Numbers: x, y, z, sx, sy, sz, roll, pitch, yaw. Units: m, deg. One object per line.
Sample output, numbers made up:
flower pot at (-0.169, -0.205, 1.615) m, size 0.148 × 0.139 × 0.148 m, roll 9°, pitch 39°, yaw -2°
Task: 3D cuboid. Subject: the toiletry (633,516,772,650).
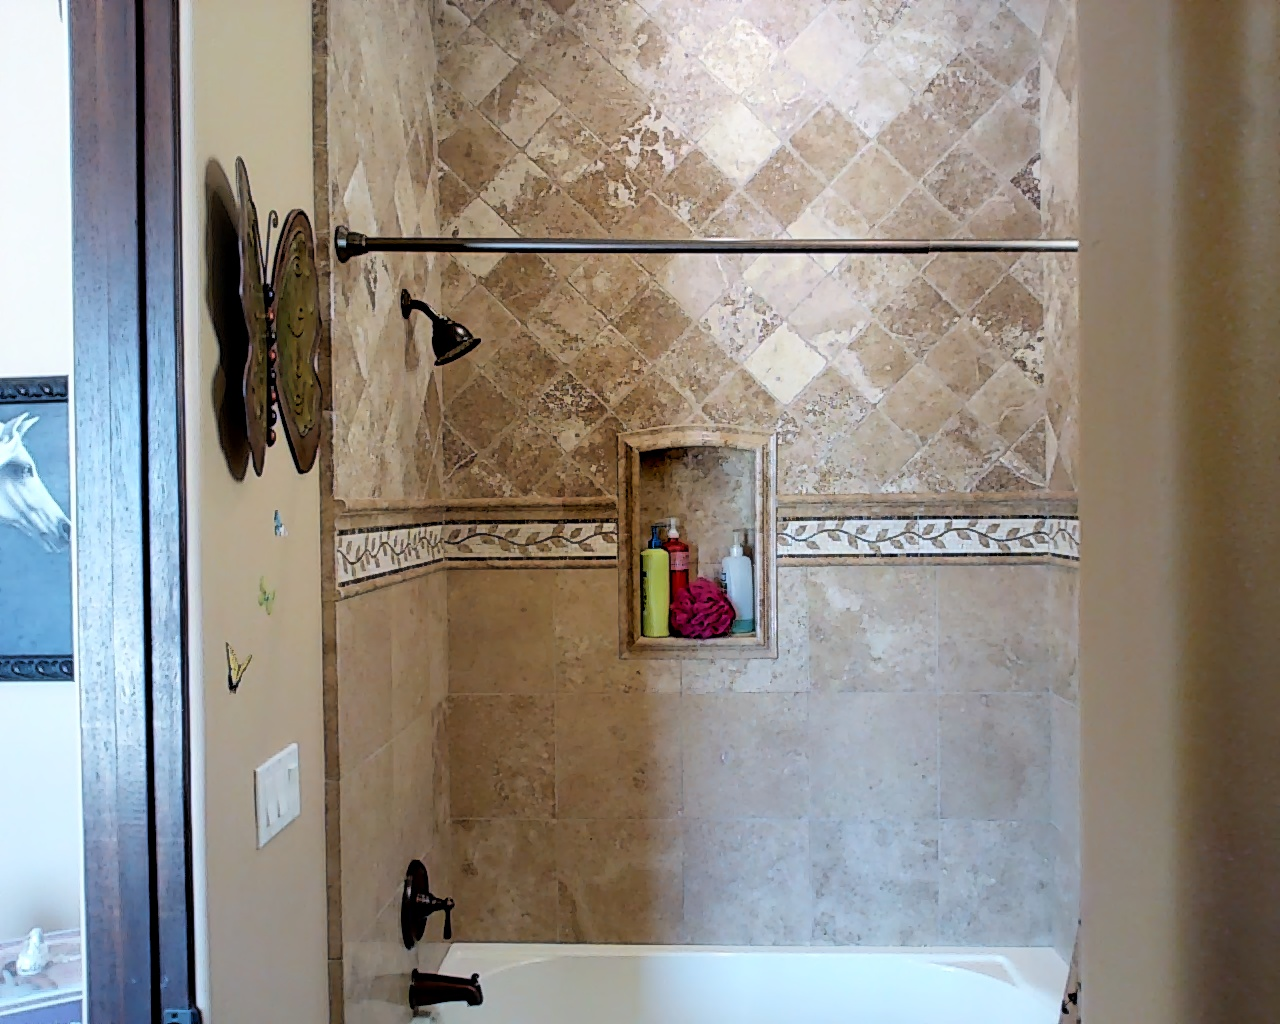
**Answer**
toiletry at (0.150, 0.170, 2.570) m, size 0.320 × 0.310 × 0.070 m, roll -2°, pitch 0°, yaw 5°
